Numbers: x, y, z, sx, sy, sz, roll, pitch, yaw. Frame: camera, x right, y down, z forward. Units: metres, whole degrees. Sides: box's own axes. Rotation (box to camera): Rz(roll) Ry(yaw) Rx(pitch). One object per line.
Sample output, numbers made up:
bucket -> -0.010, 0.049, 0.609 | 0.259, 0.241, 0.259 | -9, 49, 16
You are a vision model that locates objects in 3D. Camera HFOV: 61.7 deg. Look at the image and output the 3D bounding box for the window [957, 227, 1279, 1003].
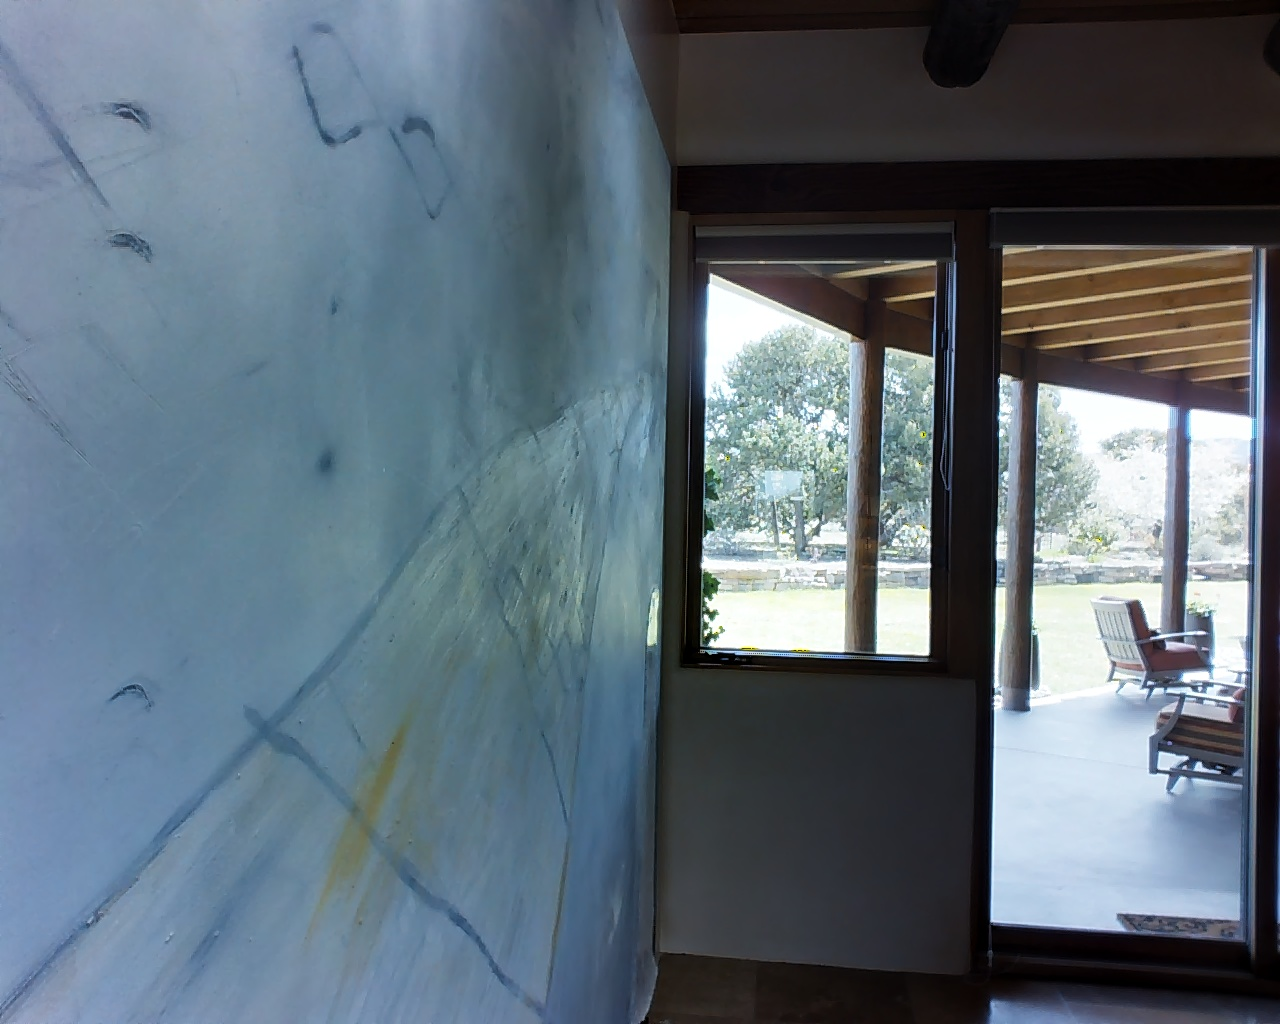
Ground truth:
window -> 1.990, 0.310, 3.360 | 1.840, 2.351, 0.230 | 2, -1, 7
